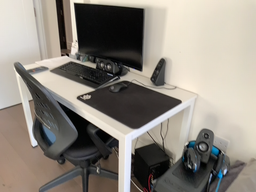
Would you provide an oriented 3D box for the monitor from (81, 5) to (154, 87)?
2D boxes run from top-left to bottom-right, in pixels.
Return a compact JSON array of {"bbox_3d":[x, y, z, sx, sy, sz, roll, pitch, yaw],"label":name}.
[{"bbox_3d":[-0.110,-0.360,1.440,0.590,0.440,0.050,23,27,35],"label":"monitor"}]

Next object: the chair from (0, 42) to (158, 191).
[{"bbox_3d":[-0.320,0.220,1.360,0.690,0.930,0.640,22,32,36],"label":"chair"}]
